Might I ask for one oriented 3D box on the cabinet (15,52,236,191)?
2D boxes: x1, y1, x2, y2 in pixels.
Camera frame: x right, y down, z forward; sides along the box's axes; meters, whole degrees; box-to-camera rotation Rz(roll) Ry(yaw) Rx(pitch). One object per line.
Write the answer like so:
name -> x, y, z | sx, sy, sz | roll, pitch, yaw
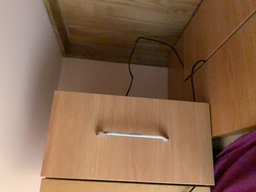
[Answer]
cabinet -> -0.010, 0.140, 0.660 | 0.440, 0.330, 0.430 | 5, 162, -5
